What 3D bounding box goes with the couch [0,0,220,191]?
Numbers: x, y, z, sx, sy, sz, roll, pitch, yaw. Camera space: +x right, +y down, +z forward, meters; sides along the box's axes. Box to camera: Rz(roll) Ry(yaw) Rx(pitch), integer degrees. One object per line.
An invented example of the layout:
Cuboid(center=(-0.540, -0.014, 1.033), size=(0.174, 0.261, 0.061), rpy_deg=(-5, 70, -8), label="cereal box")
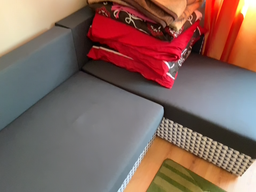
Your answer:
Cuboid(center=(-0.290, 0.080, 1.420), size=(0.930, 0.750, 2.360), rpy_deg=(25, 50, 21), label="couch")
